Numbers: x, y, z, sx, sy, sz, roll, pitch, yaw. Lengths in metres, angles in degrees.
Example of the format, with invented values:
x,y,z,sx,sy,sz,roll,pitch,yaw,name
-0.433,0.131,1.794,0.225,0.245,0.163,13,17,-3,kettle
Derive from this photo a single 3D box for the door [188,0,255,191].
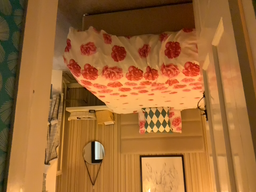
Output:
x,y,z,sx,sy,sz,roll,pitch,yaw,name
0.460,-0.170,1.140,0.110,1.940,0.790,-5,165,14,door
